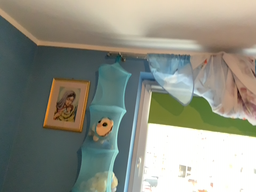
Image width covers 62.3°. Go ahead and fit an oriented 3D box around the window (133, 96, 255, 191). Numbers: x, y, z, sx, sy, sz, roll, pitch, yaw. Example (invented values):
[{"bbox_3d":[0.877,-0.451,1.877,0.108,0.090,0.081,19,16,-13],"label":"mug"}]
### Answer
[{"bbox_3d":[0.580,0.700,1.750,1.040,1.290,0.130,7,-12,6],"label":"window"}]
